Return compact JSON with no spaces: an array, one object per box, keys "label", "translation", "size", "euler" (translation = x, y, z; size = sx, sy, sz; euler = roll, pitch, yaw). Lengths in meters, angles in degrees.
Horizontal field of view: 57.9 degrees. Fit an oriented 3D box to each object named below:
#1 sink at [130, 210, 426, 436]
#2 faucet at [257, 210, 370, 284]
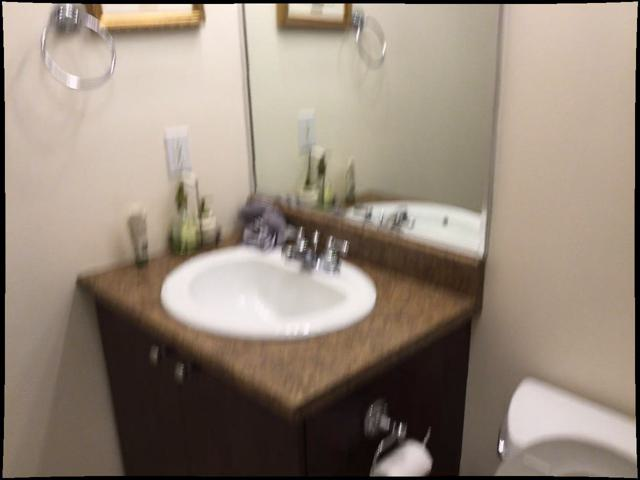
[{"label":"sink","translation":[-0.090,0.140,1.340],"size":[0.460,0.220,0.480],"euler":[19,29,41]},{"label":"faucet","translation":[-0.020,0.010,1.490],"size":[0.270,0.090,0.140],"euler":[19,29,41]}]
